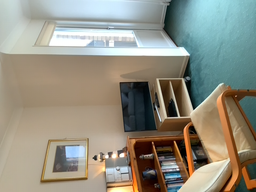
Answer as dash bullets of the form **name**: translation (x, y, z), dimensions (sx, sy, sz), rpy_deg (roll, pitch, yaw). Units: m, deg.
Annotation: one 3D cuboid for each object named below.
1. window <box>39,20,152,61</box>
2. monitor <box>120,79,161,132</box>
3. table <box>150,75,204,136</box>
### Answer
- **window**: translation (-0.500, -0.900, 3.370), dimensions (1.020, 1.540, 0.190), rpy_deg (-103, 15, -49)
- **monitor**: translation (0.150, 0.100, 2.810), dimensions (0.060, 0.450, 0.740), rpy_deg (105, 161, -60)
- **table**: translation (0.610, 0.120, 2.810), dimensions (0.420, 0.450, 0.660), rpy_deg (102, 163, -54)
